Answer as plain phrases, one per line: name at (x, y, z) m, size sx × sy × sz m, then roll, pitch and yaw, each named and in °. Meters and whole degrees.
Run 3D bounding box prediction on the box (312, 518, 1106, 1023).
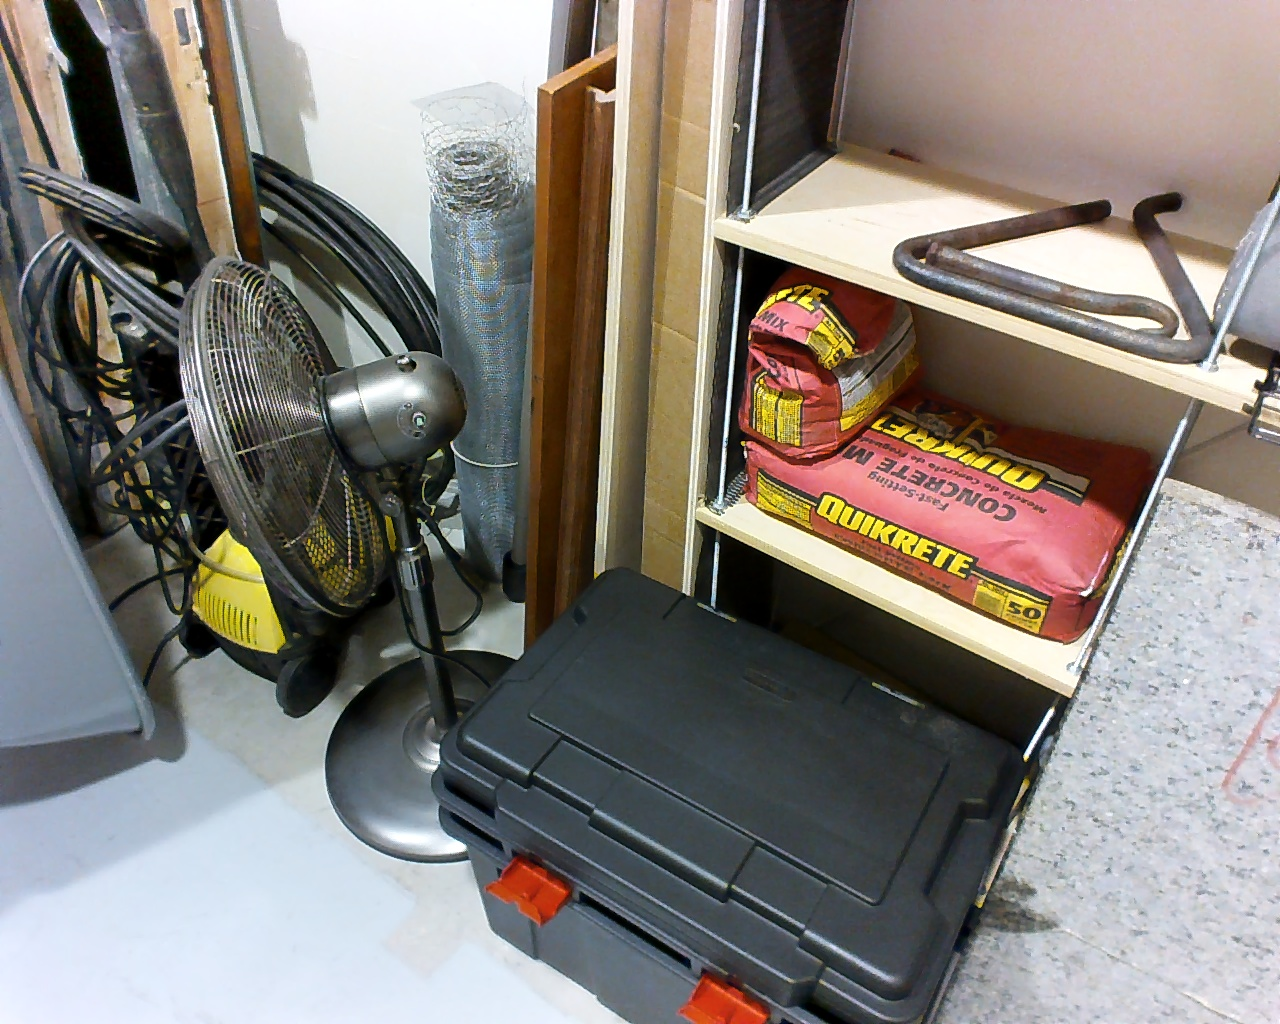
box at (0.080, 0.450, 1.350) m, size 0.730 × 0.430 × 0.520 m, roll 25°, pitch 47°, yaw 25°
